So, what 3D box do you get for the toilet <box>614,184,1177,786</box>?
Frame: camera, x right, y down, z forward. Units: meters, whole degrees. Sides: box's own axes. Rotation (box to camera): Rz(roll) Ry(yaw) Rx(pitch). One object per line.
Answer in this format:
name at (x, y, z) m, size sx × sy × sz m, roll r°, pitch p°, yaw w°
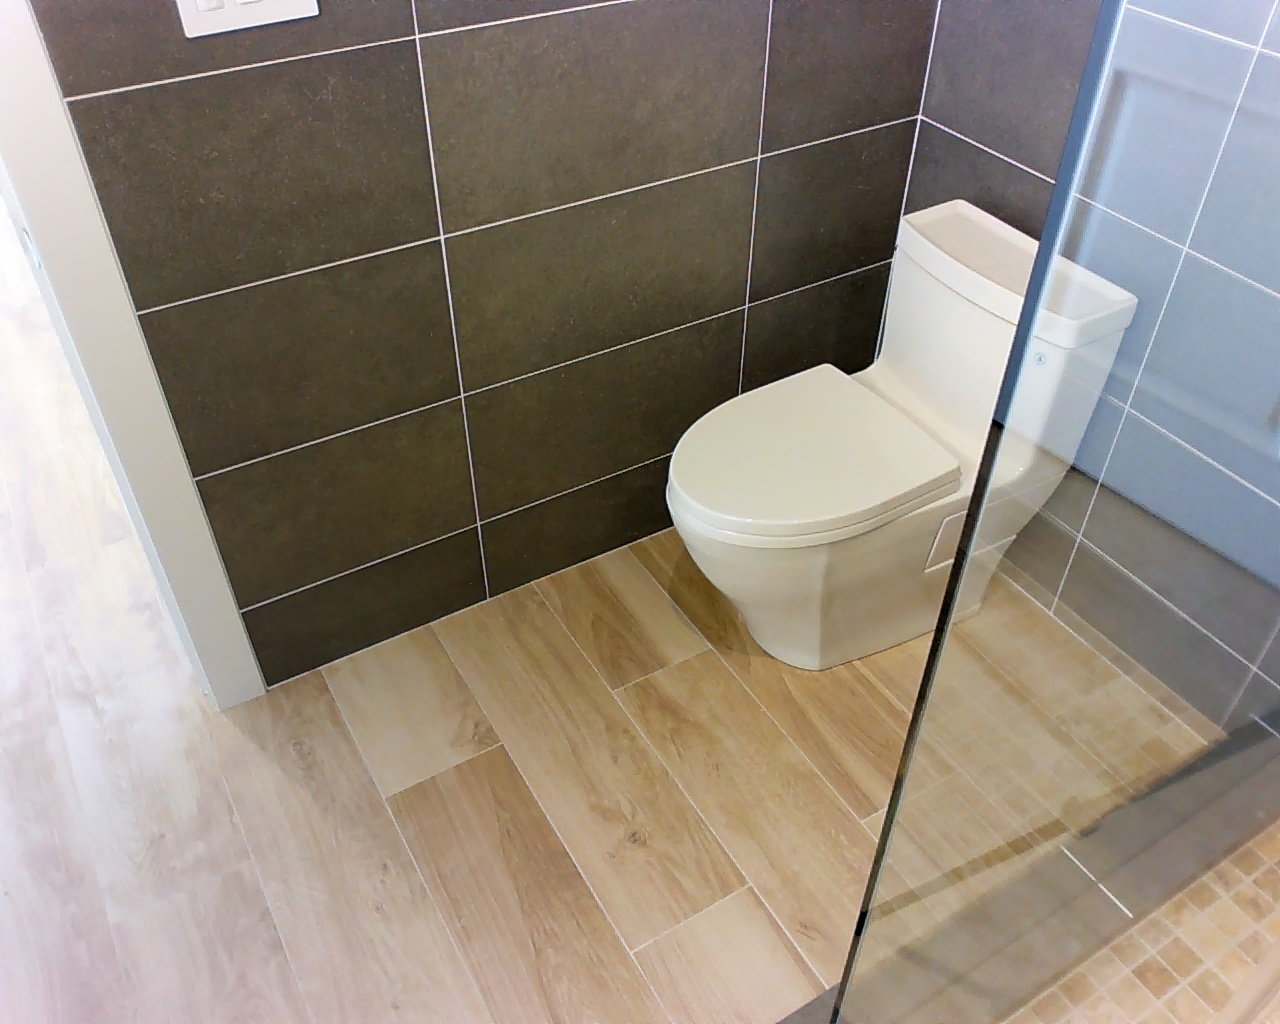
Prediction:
toilet at (0.400, -0.060, 1.940) m, size 0.760 × 0.770 × 0.450 m, roll -21°, pitch 45°, yaw -23°
